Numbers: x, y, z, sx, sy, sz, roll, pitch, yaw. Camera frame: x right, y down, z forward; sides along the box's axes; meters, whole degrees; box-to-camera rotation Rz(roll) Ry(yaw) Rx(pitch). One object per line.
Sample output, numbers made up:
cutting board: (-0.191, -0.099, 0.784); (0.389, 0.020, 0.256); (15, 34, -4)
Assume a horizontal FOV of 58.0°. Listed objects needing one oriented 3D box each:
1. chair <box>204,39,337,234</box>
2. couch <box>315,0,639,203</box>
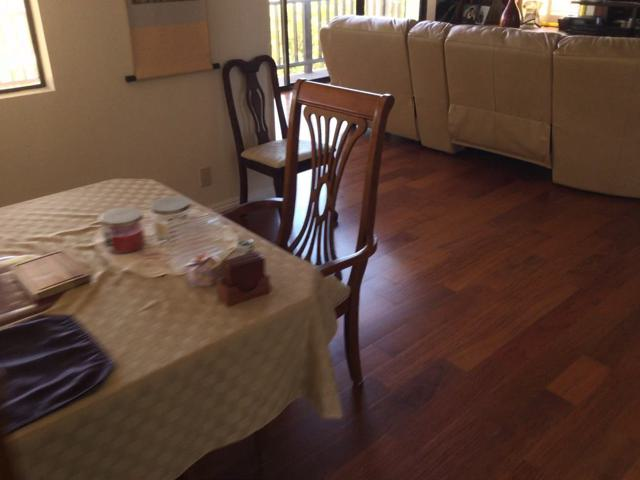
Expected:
chair: (-0.260, -0.600, 3.250); (0.460, 0.910, 0.530); (-24, 35, -37)
couch: (1.410, -1.170, 4.030); (1.000, 0.910, 3.180); (-24, 38, -37)
